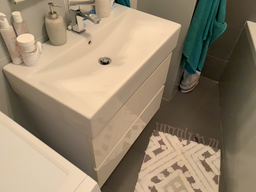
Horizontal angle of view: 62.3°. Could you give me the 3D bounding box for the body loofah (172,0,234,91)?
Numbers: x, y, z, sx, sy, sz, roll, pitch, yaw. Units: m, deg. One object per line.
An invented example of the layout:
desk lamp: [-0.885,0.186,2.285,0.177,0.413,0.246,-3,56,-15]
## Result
body loofah: [0.540,-0.540,1.410,0.200,1.160,0.220,26,51,20]
